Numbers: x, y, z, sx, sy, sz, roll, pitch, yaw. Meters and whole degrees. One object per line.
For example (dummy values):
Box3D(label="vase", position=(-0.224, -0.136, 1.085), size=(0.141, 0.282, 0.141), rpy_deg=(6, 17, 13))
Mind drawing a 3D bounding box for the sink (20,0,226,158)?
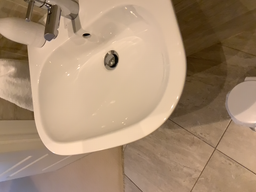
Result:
Box3D(label="sink", position=(-0.090, -0.090, 0.620), size=(0.570, 0.150, 0.440), rpy_deg=(-20, 73, 35))

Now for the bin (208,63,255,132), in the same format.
Box3D(label="bin", position=(0.510, 0.010, 0.900), size=(0.180, 0.230, 0.200), rpy_deg=(38, 108, 34))
